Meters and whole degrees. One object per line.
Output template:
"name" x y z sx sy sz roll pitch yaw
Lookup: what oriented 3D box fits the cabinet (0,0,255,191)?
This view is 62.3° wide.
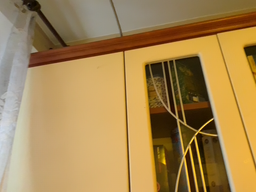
"cabinet" 0.340 0.150 0.650 1.360 0.800 0.340 -8 -26 10
